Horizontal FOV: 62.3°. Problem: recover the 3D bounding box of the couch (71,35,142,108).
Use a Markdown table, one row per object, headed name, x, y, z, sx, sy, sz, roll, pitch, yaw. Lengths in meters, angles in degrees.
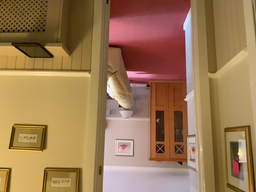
| name | x | y | z | sx | sy | sz | roll | pitch | yaw |
| --- | --- | --- | --- | --- | --- | --- | --- | --- | --- |
| couch | -0.290 | -0.340 | 4.020 | 1.050 | 0.950 | 1.610 | 0 | 170 | 2 |
